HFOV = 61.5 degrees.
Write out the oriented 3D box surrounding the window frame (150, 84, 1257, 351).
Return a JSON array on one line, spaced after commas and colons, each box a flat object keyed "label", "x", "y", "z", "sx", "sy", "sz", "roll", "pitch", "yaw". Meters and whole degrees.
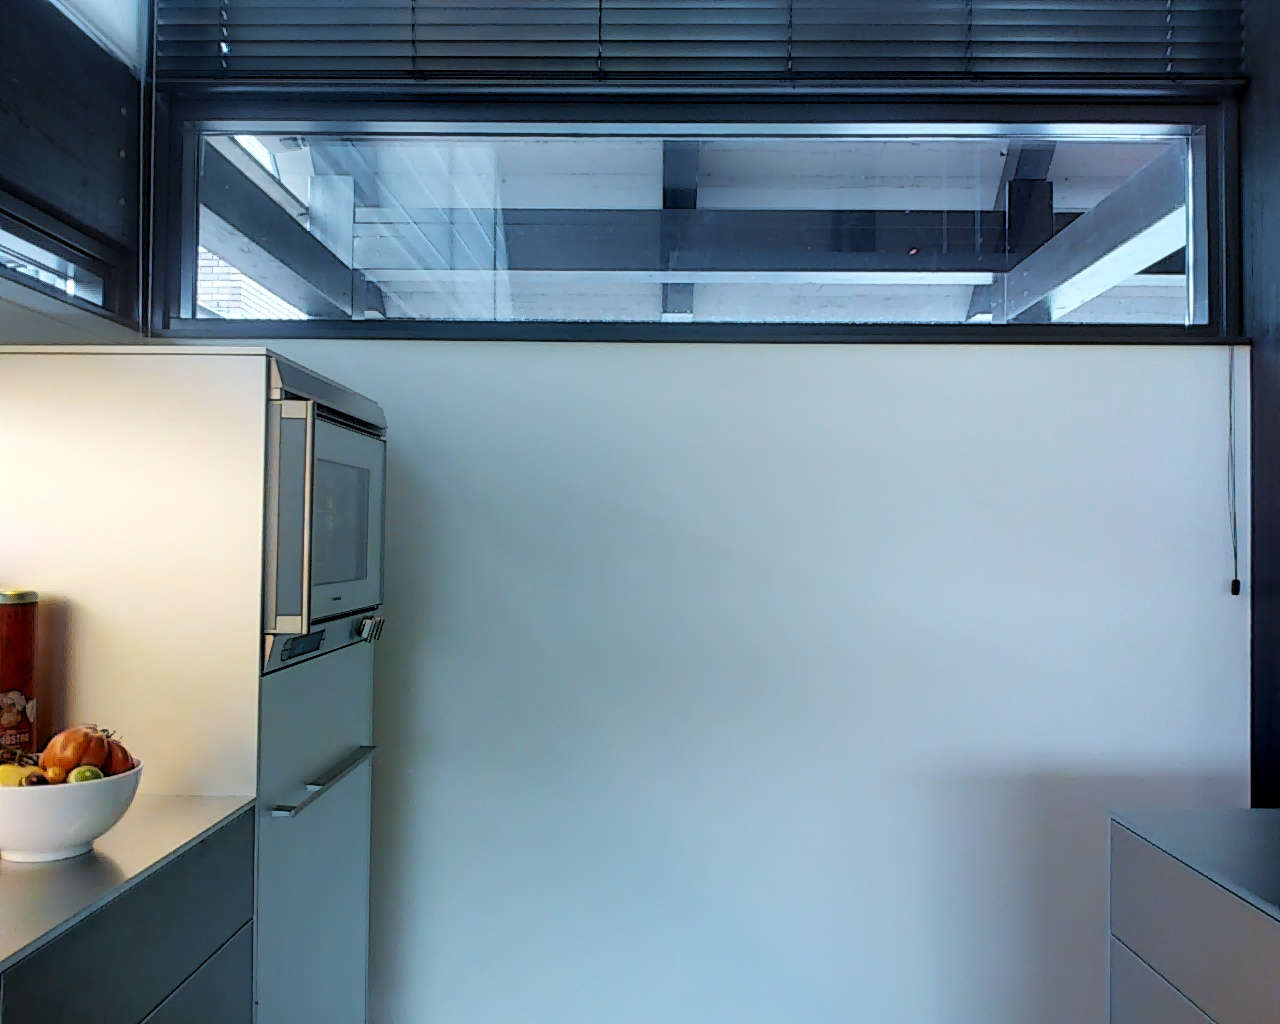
[{"label": "window frame", "x": 0.150, "y": -0.760, "z": 2.800, "sx": 2.780, "sy": 0.640, "sz": 0.170, "roll": 0, "pitch": -2, "yaw": 1}]
